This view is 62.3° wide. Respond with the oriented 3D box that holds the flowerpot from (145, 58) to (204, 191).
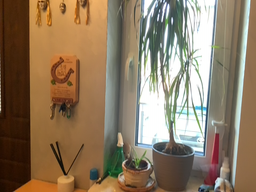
[{"bbox_3d":[0.210,0.120,0.960,0.200,0.560,0.200,4,6,16],"label":"flowerpot"}]
